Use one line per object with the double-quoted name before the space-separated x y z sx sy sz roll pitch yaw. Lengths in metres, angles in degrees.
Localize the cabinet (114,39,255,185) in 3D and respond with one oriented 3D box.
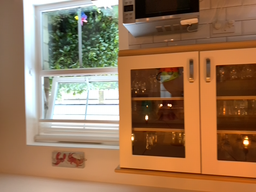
"cabinet" 0.460 0.090 1.370 1.030 0.790 0.320 -1 -179 15
